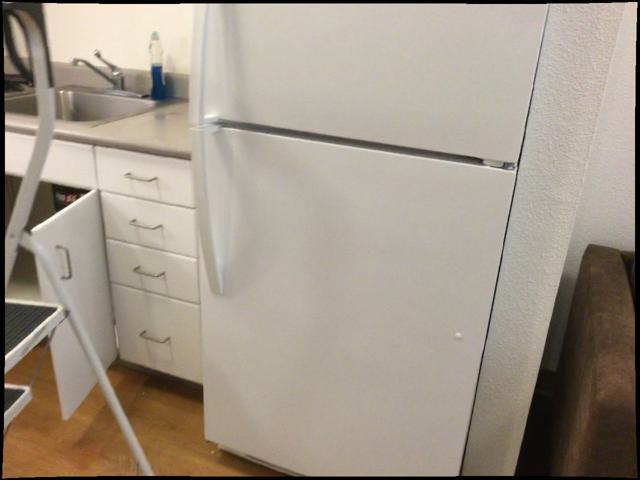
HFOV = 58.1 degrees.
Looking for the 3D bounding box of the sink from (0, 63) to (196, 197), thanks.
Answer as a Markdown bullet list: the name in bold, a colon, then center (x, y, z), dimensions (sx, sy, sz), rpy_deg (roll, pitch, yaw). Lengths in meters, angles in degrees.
- **sink**: center (-0.958, -0.441, 2.100), dimensions (0.758, 0.261, 0.640), rpy_deg (11, 26, 17)
